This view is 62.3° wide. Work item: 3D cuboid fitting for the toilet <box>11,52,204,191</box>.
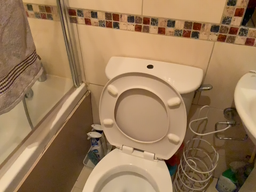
[{"bbox_3d":[0.020,0.340,0.950,0.420,0.780,0.670,12,41,13],"label":"toilet"}]
